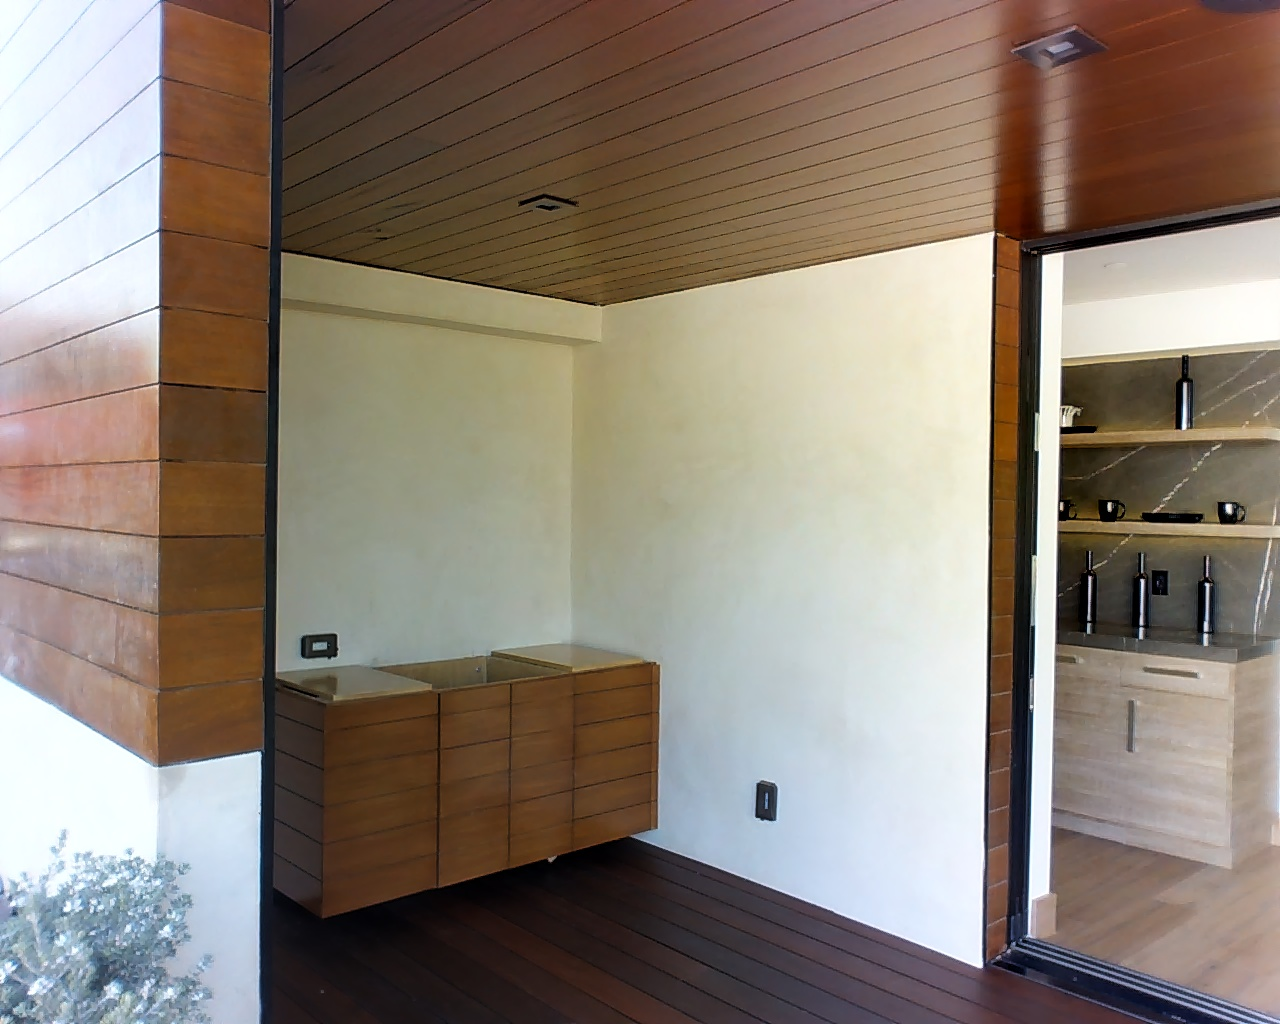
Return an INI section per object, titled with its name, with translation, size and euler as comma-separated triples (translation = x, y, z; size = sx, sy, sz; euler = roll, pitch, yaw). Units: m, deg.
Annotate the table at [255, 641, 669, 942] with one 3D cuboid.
[table]
translation = -0.680, 1.040, 4.420
size = 1.550, 0.830, 0.670
euler = 0, 1, -42
